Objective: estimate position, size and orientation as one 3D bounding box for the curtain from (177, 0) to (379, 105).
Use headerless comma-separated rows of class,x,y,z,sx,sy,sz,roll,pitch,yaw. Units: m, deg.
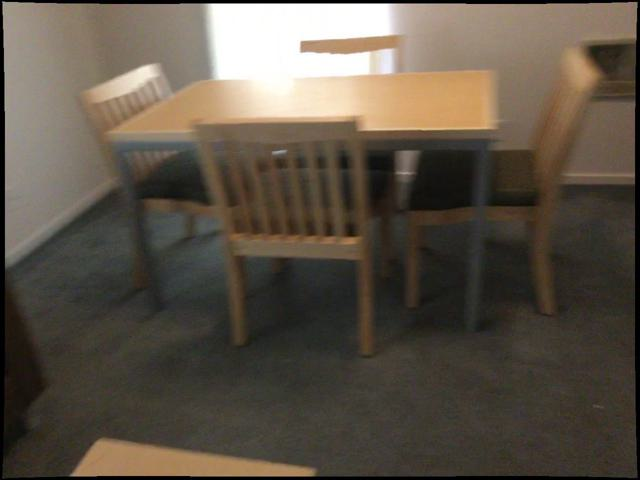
curtain,-0.229,-1.213,2.970,0.968,0.952,0.250,2,31,17
